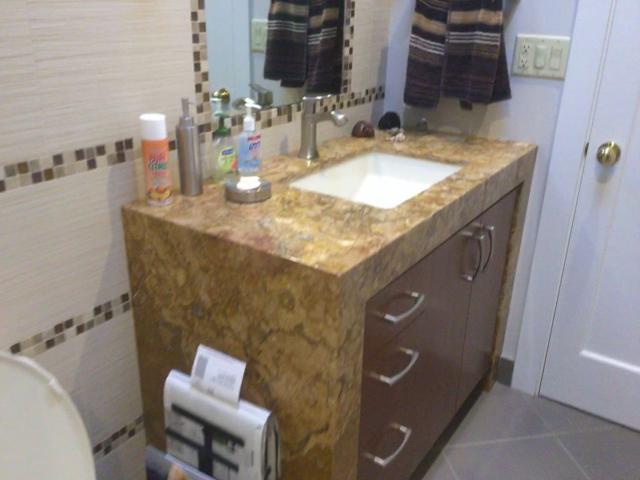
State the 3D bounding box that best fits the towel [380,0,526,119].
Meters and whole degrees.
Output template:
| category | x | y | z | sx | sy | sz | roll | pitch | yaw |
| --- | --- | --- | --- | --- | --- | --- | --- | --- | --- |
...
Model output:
| category | x | y | z | sx | sy | sz | roll | pitch | yaw |
| --- | --- | --- | --- | --- | --- | --- | --- | --- | --- |
| towel | 0.400 | -0.600 | 1.780 | 0.380 | 0.390 | 0.140 | 16 | 25 | 31 |
